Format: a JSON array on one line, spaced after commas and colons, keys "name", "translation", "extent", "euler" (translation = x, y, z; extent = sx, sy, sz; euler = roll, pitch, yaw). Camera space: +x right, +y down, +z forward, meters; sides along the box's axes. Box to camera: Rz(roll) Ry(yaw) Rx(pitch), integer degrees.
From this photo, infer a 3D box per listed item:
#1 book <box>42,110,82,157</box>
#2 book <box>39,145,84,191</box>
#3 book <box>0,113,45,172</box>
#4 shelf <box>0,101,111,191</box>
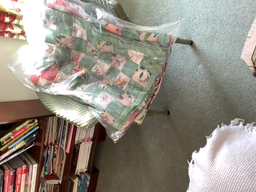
[{"name": "book", "translation": [-0.480, 0.260, 1.530], "extent": [0.180, 0.180, 0.250], "euler": [23, 108, 39]}, {"name": "book", "translation": [-0.520, 0.570, 1.660], "extent": [0.220, 0.230, 0.250], "euler": [24, 109, 38]}, {"name": "book", "translation": [-0.680, 0.280, 1.350], "extent": [0.210, 0.190, 0.270], "euler": [24, 109, 38]}, {"name": "shelf", "translation": [-0.660, 0.540, 1.510], "extent": [0.260, 1.020, 0.900], "euler": [24, 109, 38]}]
